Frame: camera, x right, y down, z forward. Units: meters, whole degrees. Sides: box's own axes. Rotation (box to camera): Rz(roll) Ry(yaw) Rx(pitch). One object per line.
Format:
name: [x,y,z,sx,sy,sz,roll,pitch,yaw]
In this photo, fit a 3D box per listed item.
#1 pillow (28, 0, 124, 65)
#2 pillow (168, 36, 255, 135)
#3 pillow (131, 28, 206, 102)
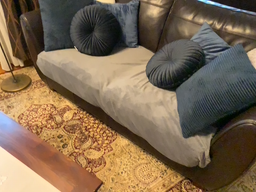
pillow: [-0.390,-0.500,1.630,0.640,0.340,0.150,18,56,-6]
pillow: [0.420,-0.010,1.090,0.200,0.430,0.390,7,75,-24]
pillow: [0.270,-0.220,1.390,0.380,0.240,0.390,15,43,14]
